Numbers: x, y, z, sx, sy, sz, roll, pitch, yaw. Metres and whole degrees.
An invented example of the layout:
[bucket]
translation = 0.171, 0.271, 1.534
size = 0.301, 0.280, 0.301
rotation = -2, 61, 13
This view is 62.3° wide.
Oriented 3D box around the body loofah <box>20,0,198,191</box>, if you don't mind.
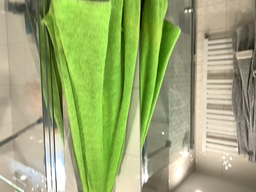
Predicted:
[body loofah]
translation = -0.020, -0.130, 0.840
size = 0.370, 1.200, 0.610
rotation = 4, -173, 38
